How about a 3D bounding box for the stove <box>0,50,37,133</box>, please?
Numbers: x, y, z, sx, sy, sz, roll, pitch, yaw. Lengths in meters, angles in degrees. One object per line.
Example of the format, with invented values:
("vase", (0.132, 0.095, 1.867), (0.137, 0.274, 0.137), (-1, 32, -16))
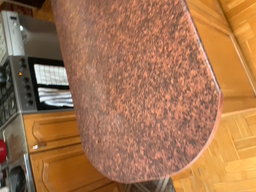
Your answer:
("stove", (-1.060, -0.010, 1.880), (0.640, 0.150, 0.520), (-28, 73, 39))
